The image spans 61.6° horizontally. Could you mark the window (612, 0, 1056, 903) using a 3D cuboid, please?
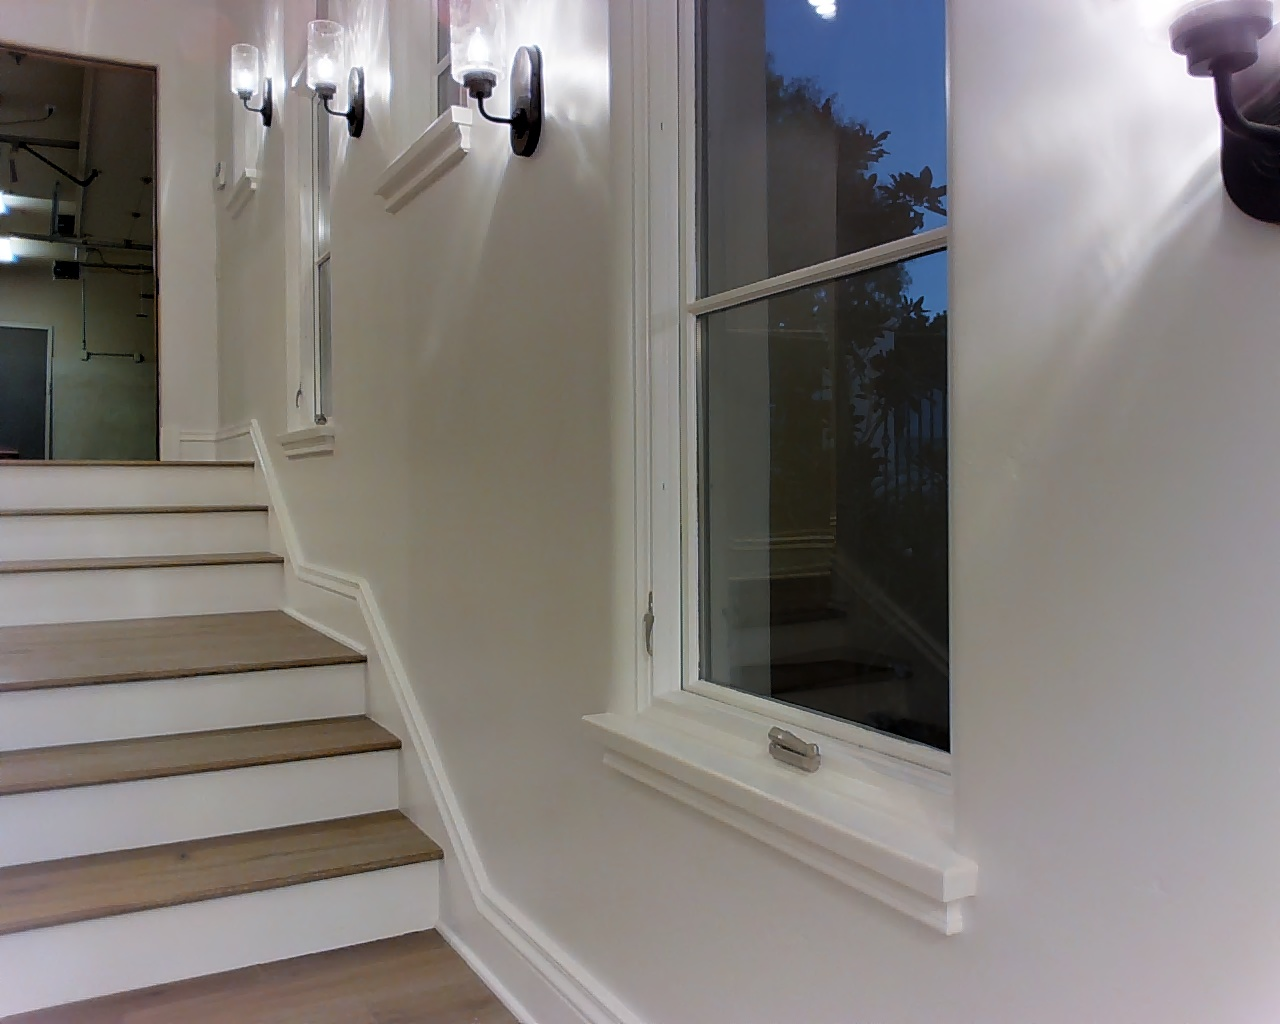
[{"bbox_3d":[0.200,-0.510,1.440,0.160,1.801,0.750,-1,1,-27],"label":"window"}]

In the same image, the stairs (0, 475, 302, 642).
[{"bbox_3d":[-2.129,0.150,4.110,1.480,0.570,0.730,-1,1,-28],"label":"stairs"}]
